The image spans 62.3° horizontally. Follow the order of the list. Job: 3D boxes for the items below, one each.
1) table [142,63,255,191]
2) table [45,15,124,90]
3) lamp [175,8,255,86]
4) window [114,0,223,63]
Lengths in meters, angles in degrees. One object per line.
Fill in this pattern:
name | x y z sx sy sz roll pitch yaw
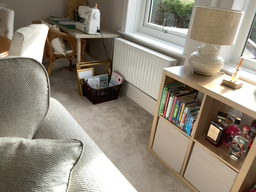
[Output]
table | 0.610 0.260 1.610 0.510 0.750 0.830 -10 31 -33
table | -0.730 -0.730 3.240 0.670 0.750 1.280 -10 31 -33
lamp | 0.610 -0.360 1.530 0.300 0.450 0.330 -10 31 -32
window | 0.400 -1.140 2.180 0.540 1.290 1.030 -9 31 -31
